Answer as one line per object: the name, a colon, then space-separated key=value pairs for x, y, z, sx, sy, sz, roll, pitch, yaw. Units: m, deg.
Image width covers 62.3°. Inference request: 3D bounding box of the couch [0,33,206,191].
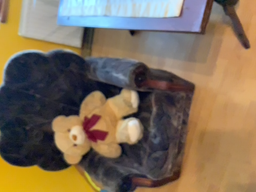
couch: x=-0.220 y=0.150 z=1.370 sx=0.850 sy=1.000 sz=0.850 roll=16 pitch=100 yaw=47
